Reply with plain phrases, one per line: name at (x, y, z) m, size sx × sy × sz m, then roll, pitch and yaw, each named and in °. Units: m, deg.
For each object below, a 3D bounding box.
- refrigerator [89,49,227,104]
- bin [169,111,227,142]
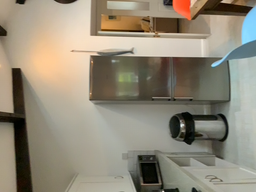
refrigerator at (0.380, -0.240, 3.050) m, size 0.630 × 1.800 × 0.640 m, roll 129°, pitch 141°, yaw -82°
bin at (0.970, 0.440, 3.050) m, size 0.510 × 0.630 × 0.400 m, roll 122°, pitch 148°, yaw -80°
